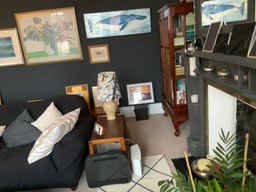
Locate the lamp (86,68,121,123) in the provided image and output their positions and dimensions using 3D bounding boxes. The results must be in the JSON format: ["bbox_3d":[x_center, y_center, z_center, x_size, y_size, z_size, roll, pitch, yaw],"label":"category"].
[{"bbox_3d":[-0.310,-0.020,2.830,0.350,0.630,0.380,-7,15,-2],"label":"lamp"}]

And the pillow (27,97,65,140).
[{"bbox_3d":[-1.020,0.290,2.640,0.430,0.400,0.200,-22,-29,28],"label":"pillow"}]

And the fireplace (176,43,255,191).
[{"bbox_3d":[0.990,0.250,1.860,0.600,1.290,1.680,-7,15,-2],"label":"fireplace"}]

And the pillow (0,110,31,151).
[{"bbox_3d":[-1.440,0.430,2.620,0.370,0.440,0.180,-7,-23,0],"label":"pillow"}]
